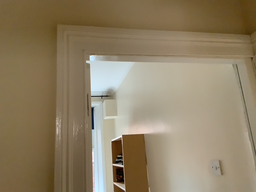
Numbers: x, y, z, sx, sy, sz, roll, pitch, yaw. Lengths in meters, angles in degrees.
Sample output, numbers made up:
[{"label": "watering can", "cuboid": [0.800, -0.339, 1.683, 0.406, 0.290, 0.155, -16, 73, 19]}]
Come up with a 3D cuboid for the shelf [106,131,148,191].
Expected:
[{"label": "shelf", "cuboid": [-0.040, 1.070, 2.900, 0.320, 1.050, 0.840, -1, -15, -16]}]
